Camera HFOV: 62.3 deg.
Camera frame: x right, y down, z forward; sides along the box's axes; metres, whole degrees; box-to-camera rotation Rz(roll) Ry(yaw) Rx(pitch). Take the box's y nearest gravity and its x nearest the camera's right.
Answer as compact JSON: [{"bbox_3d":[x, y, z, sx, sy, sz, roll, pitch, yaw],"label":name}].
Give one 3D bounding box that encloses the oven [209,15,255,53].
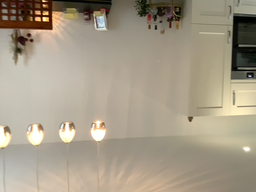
[{"bbox_3d":[1.700,-0.920,3.240,0.640,0.440,0.570,-1,-174,-9],"label":"oven"}]
